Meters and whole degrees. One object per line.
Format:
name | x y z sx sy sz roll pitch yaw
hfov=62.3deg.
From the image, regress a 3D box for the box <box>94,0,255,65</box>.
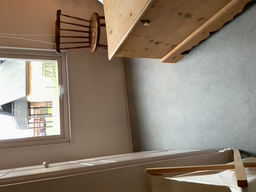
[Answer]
box | 0.240 -0.680 1.280 0.970 0.640 0.650 148 118 -63
